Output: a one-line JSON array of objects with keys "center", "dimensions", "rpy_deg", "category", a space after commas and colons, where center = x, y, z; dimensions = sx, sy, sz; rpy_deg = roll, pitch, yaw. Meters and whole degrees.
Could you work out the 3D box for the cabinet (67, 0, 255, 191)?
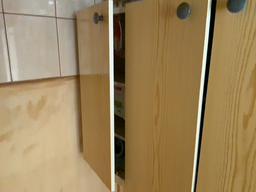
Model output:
[{"center": [0.180, 0.050, 0.770], "dimensions": [0.320, 0.720, 0.970], "rpy_deg": [-12, -161, -42], "category": "cabinet"}]
